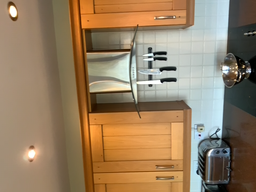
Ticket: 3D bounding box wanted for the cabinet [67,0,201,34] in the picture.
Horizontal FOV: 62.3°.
[{"bbox_3d":[0.040,-0.640,1.530,0.290,0.880,0.320,-89,-3,-77],"label":"cabinet"}]
